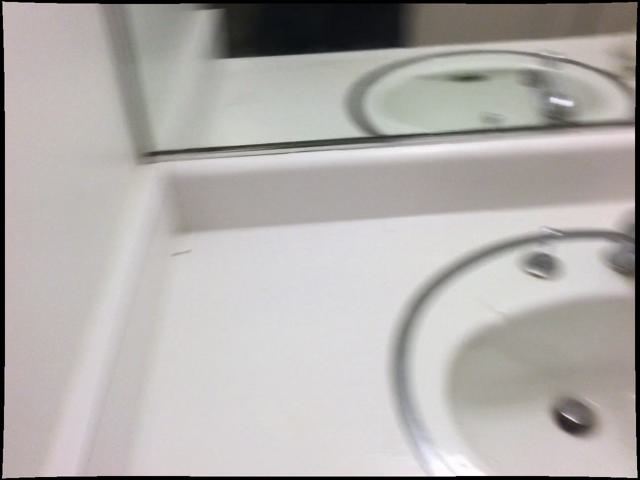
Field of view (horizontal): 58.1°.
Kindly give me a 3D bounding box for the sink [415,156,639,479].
[{"bbox_3d":[0.359,0.130,0.710,0.399,0.270,0.390,-7,43,-1],"label":"sink"}]
